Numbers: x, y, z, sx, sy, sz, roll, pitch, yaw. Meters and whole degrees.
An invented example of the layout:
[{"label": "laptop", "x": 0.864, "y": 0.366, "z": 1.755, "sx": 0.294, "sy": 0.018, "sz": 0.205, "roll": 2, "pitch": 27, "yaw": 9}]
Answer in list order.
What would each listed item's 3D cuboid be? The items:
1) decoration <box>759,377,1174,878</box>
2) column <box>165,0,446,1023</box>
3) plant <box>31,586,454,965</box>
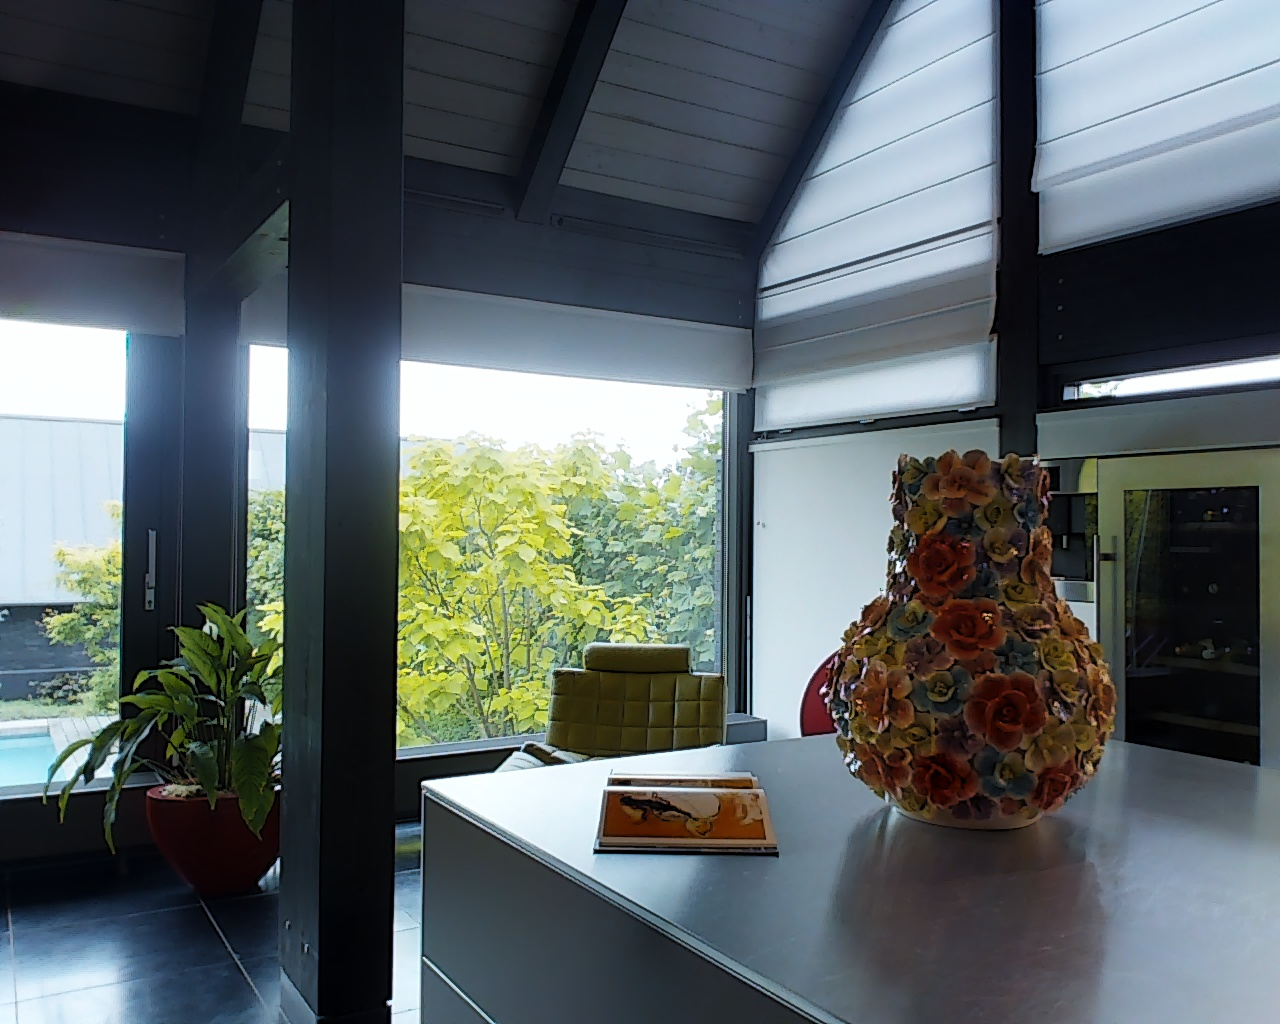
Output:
[{"label": "decoration", "x": 0.450, "y": 0.130, "z": 1.450, "sx": 0.420, "sy": 0.540, "sz": 0.410, "roll": 0, "pitch": -2, "yaw": 36}, {"label": "column", "x": -1.220, "y": -0.960, "z": 3.650, "sx": 0.310, "sy": 4.721, "sz": 2.210, "roll": 2, "pitch": -2, "yaw": -32}, {"label": "plant", "x": -1.510, "y": 0.850, "z": 4.040, "sx": 1.290, "sy": 1.090, "sz": 1.020, "roll": 2, "pitch": -2, "yaw": -32}]
